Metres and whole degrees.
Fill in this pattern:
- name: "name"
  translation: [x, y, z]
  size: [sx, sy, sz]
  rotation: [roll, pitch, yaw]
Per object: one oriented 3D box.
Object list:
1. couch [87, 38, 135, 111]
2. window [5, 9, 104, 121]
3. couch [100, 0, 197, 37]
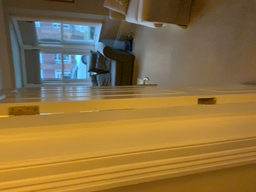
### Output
- name: "couch"
  translation: [-0.500, -0.590, 5.440]
  size: [1.060, 0.940, 1.570]
  rotation: [-130, 41, -62]
- name: "window"
  translation: [-1.740, -0.770, 5.400]
  size: [0.880, 2.030, 2.500]
  rotation: [-132, 43, -63]
- name: "couch"
  translation: [0.180, -1.660, 3.430]
  size: [2.000, 0.850, 1.020]
  rotation: [-126, 38, -59]
